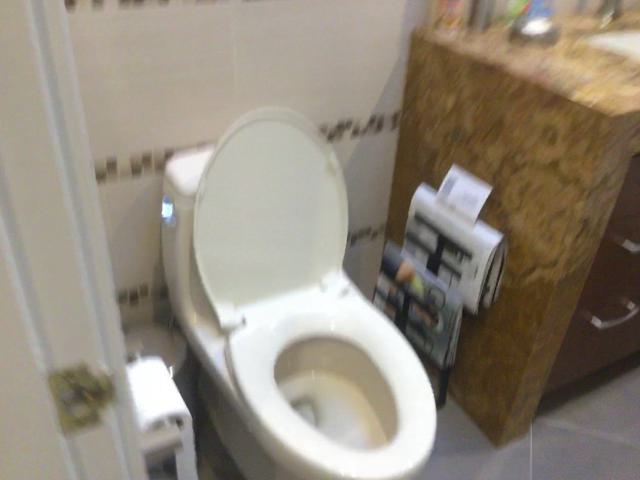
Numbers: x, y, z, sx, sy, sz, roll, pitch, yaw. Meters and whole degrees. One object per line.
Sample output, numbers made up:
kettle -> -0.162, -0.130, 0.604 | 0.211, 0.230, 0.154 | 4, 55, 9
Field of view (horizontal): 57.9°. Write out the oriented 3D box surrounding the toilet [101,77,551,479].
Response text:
toilet -> -0.080, 0.200, 1.150 | 0.450, 0.800, 0.710 | -13, 37, -24
